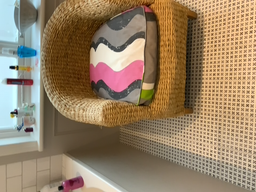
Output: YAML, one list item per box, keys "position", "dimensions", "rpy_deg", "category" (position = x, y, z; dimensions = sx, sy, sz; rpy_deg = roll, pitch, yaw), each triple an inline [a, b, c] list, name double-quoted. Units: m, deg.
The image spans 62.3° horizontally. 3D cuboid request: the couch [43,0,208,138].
- position: [-0.040, -0.250, 1.400]
  dimensions: [0.740, 0.770, 0.800]
  rpy_deg: [5, 95, 50]
  category: "couch"
